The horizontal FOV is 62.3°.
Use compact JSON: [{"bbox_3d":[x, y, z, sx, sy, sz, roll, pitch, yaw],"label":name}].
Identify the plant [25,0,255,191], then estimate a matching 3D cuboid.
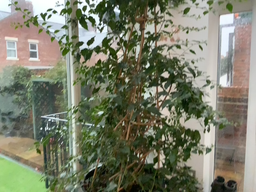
[{"bbox_3d":[0.310,0.120,1.230,1.300,2.140,1.070,5,8,34],"label":"plant"}]
